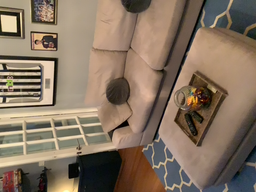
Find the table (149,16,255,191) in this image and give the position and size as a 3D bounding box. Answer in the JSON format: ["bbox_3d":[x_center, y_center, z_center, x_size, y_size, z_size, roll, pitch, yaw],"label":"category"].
[{"bbox_3d":[0.670,0.080,1.680,0.730,0.410,1.150,54,138,47],"label":"table"}]

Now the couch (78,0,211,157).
[{"bbox_3d":[0.020,-0.400,2.520,0.950,0.810,2.000,54,138,47],"label":"couch"}]

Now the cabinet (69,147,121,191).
[{"bbox_3d":[-0.660,1.540,4.060,0.290,0.770,1.120,55,139,46],"label":"cabinet"}]
